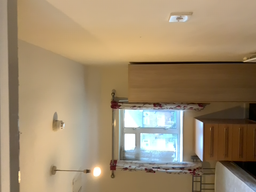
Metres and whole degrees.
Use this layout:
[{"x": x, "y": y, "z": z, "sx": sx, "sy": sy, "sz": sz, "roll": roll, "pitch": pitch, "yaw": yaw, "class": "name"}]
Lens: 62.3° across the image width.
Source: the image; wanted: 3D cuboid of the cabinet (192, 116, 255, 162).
[{"x": 1.350, "y": 0.570, "z": 2.940, "sx": 0.520, "sy": 0.790, "sz": 0.520, "roll": -20, "pitch": -70, "yaw": -86, "class": "cabinet"}]
